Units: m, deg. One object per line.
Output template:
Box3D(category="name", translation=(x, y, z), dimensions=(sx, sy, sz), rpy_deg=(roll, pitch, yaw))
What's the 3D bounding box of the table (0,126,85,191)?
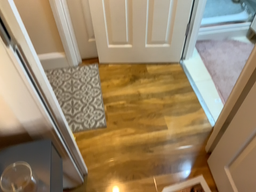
Box3D(category="table", translation=(-0.360, 0.490, 0.800), dimensions=(0.310, 0.590, 0.450), rpy_deg=(-10, 50, -6))
